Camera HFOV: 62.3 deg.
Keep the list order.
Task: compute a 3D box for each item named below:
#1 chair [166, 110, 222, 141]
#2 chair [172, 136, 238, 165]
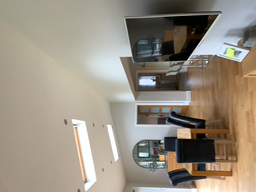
[{"bbox_3d":[1.460,0.670,4.820,0.470,1.120,0.640,68,-157,-80],"label":"chair"},{"bbox_3d":[1.430,1.030,4.110,0.640,1.060,0.460,67,-156,-80],"label":"chair"}]
